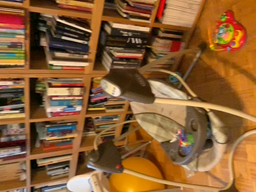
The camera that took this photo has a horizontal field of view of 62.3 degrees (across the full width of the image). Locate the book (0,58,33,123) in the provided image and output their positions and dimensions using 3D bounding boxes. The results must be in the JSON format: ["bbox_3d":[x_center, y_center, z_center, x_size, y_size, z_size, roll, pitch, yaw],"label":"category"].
[{"bbox_3d":[-0.870,-0.050,1.510,0.360,0.320,0.320,52,137,48],"label":"book"}]

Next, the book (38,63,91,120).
[{"bbox_3d":[-0.500,-0.040,1.620,0.250,0.330,0.330,54,139,46],"label":"book"}]
